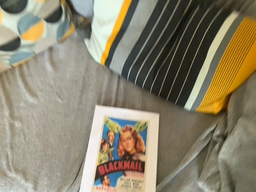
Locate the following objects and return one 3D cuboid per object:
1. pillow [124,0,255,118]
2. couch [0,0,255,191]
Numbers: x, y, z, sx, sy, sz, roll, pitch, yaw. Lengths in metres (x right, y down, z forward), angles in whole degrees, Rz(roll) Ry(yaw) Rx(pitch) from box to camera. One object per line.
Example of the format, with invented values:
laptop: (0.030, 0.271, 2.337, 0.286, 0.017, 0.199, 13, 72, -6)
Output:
pillow: (0.220, -0.150, 0.640, 0.400, 0.190, 0.300, 14, 68, 3)
couch: (-0.150, -0.010, 0.760, 1.540, 0.630, 0.750, 12, 68, 3)
